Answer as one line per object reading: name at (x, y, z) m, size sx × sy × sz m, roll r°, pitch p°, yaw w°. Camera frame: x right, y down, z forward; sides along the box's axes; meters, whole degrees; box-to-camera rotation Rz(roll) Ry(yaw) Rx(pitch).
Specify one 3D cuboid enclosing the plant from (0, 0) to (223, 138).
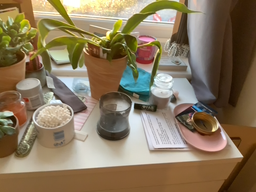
plant at (-0.070, -0.140, 0.610) m, size 0.450 × 0.420 × 0.290 m, roll 3°, pitch 36°, yaw -8°

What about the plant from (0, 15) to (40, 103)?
plant at (-0.330, -0.100, 0.560) m, size 0.140 × 0.170 × 0.170 m, roll 1°, pitch 36°, yaw -12°
